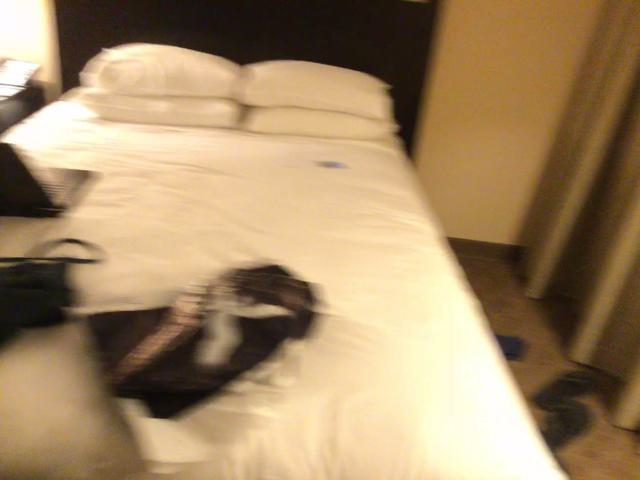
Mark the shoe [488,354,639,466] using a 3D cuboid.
[{"bbox_3d":[0.830,0.570,1.980,0.320,0.120,0.400,6,25,-17],"label":"shoe"}]
